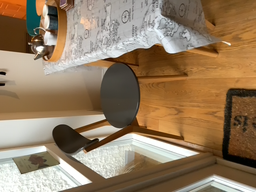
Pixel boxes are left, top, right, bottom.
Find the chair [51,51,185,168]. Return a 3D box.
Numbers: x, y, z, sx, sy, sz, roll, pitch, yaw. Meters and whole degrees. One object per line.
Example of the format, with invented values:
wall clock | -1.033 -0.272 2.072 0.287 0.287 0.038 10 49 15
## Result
chair | -0.050 0.060 1.450 0.450 0.780 0.570 5 94 51
